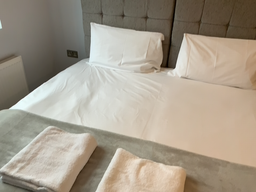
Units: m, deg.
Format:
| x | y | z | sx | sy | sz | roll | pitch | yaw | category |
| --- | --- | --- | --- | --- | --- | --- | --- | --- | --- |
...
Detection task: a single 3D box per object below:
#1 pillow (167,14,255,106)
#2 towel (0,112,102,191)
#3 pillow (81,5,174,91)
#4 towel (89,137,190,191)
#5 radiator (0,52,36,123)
| x | y | z | sx | sy | sz | roll | pitch | yaw | category |
| --- | --- | --- | --- | --- | --- | --- | --- | --- | --- |
| 0.790 | -0.310 | 1.850 | 0.760 | 0.420 | 0.190 | 33 | 35 | 1 | pillow |
| -0.370 | 0.260 | 1.050 | 0.340 | 0.090 | 0.410 | 10 | 31 | 14 | towel |
| -0.020 | -0.460 | 2.090 | 0.780 | 0.460 | 0.180 | 33 | 35 | 1 | pillow |
| 0.060 | 0.370 | 0.890 | 0.350 | 0.080 | 0.400 | 11 | 32 | 15 | towel |
| -1.270 | 0.080 | 1.760 | 0.060 | 0.530 | 1.240 | 11 | 32 | 16 | radiator |
